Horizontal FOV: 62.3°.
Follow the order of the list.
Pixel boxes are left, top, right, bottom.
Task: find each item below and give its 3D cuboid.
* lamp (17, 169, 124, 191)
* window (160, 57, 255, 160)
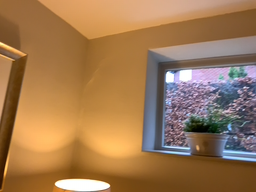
[{"bbox_3d":[-0.310,0.730,1.130,0.430,0.570,0.380,-1,-12,23],"label":"lamp"},{"bbox_3d":[0.590,0.080,1.550,0.700,0.690,0.040,-2,-12,26],"label":"window"}]
